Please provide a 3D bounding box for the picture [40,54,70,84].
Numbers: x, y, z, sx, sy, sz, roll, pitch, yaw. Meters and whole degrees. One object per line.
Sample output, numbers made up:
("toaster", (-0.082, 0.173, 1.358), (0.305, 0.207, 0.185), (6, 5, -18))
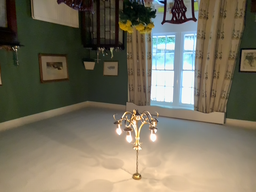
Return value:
("picture", (-1.440, -0.550, 4.260), (0.050, 0.570, 0.700), (6, -169, 29))
